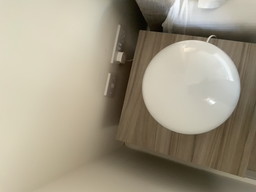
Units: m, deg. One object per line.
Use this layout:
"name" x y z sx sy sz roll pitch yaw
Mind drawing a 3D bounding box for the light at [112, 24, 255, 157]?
"light" 0.150 -0.020 0.570 0.280 0.210 0.240 14 91 18
